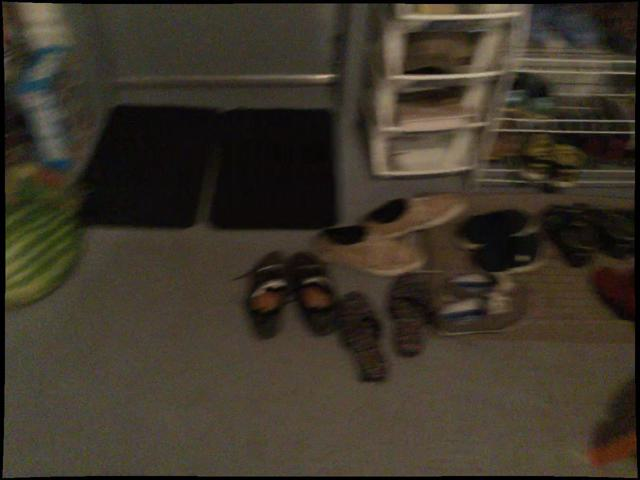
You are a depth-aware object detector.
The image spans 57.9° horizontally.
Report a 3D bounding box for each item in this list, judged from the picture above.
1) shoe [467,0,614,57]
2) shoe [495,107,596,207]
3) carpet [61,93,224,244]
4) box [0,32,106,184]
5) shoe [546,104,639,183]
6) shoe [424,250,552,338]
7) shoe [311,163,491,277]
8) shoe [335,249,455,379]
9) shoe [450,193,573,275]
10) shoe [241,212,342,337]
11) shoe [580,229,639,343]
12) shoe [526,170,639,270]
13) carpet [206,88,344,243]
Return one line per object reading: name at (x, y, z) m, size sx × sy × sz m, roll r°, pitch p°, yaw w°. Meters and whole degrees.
shoe at (0.559, -0.611, 1.520) m, size 0.280 × 0.090 × 0.320 m, roll -1°, pitch 50°, yaw -2°
shoe at (0.659, -0.250, 1.720) m, size 0.180 × 0.150 × 0.270 m, roll -1°, pitch 50°, yaw -2°
carpet at (-0.509, -0.240, 1.760) m, size 0.380 × 0.060 × 0.600 m, roll -1°, pitch 50°, yaw -2°
box at (-0.799, -0.380, 1.680) m, size 0.210 × 0.310 × 0.300 m, roll -1°, pitch 50°, yaw -2°
shoe at (0.819, -0.290, 1.740) m, size 0.180 × 0.170 × 0.160 m, roll -1°, pitch 50°, yaw -2°
shoe at (0.400, 0.130, 1.410) m, size 0.250 × 0.110 × 0.180 m, roll -1°, pitch 50°, yaw -2°
shoe at (0.200, -0.060, 1.570) m, size 0.440 × 0.110 × 0.310 m, roll -1°, pitch 50°, yaw -2°
shoe at (0.170, 0.170, 1.410) m, size 0.250 × 0.060 × 0.330 m, roll -1°, pitch 50°, yaw -2°
shoe at (0.509, -0.020, 1.570) m, size 0.260 × 0.070 × 0.230 m, roll -1°, pitch 50°, yaw -2°
shoe at (-0.070, 0.080, 1.450) m, size 0.230 × 0.100 × 0.310 m, roll -1°, pitch 50°, yaw -2°
shoe at (0.839, 0.110, 1.440) m, size 0.260 × 0.120 × 0.260 m, roll -1°, pitch 50°, yaw -2°
shoe at (0.739, -0.060, 1.600) m, size 0.220 × 0.090 × 0.250 m, roll -9°, pitch 51°, yaw -9°
carpet at (-0.130, -0.250, 1.770) m, size 0.370 × 0.080 × 0.600 m, roll -1°, pitch 50°, yaw -2°
